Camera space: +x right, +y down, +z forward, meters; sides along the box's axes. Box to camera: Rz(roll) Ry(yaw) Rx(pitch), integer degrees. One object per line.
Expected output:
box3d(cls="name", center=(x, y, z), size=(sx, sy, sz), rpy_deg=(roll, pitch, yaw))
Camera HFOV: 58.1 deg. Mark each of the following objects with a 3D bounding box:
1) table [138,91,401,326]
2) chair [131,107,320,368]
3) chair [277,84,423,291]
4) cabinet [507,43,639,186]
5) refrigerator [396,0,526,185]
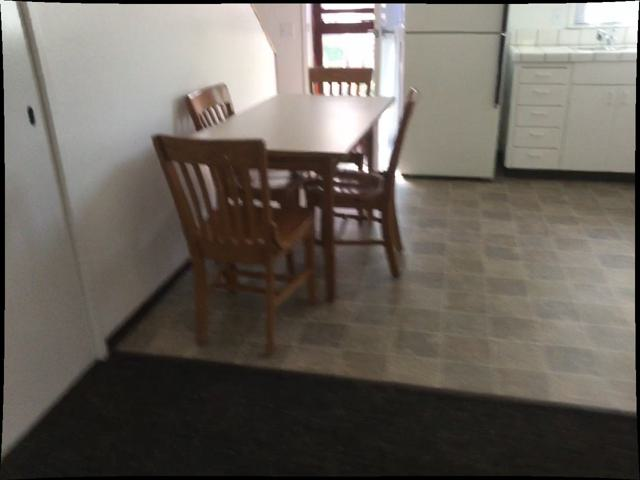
box3d(cls="table", center=(-0.130, -0.280, 3.080), size=(0.959, 0.771, 1.360), rpy_deg=(3, 25, 13))
box3d(cls="chair", center=(-0.329, -0.040, 2.390), size=(0.509, 0.901, 0.570), rpy_deg=(3, 25, 13))
box3d(cls="chair", center=(0.180, -0.280, 2.900), size=(0.609, 0.901, 0.480), rpy_deg=(3, 25, 13))
box3d(cls="cabinet", center=(2.117, -0.871, 4.050), size=(1.438, 0.941, 0.250), rpy_deg=(3, 25, 13))
box3d(cls="refrigerator", center=(1.038, -1.312, 4.350), size=(0.819, 1.582, 0.810), rpy_deg=(3, 25, 13))
